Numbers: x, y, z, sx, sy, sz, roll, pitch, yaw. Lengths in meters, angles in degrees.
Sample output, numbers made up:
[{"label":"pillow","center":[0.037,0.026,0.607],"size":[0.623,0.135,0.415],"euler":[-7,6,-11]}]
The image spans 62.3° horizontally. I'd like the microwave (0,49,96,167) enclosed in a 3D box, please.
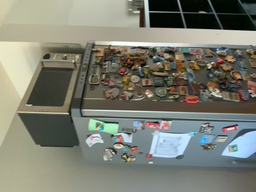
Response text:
[{"label":"microwave","center":[-0.480,0.100,1.520],"size":[0.630,0.390,0.560],"euler":[93,179,-47]}]
